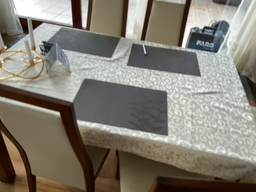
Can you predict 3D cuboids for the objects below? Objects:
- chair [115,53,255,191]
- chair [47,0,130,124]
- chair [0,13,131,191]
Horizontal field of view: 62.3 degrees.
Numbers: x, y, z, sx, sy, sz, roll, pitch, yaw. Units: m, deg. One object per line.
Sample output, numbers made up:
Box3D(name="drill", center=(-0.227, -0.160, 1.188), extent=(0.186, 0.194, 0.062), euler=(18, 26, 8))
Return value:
Box3D(name="chair", center=(0.160, 0.410, 0.990), extent=(0.410, 1.020, 0.550), euler=(5, 41, -3))
Box3D(name="chair", center=(-0.280, -0.350, 1.790), extent=(0.420, 1.020, 0.550), euler=(11, 41, 4))
Box3D(name="chair", center=(-0.300, 0.210, 1.130), extent=(0.420, 1.040, 0.550), euler=(12, 41, 5))
